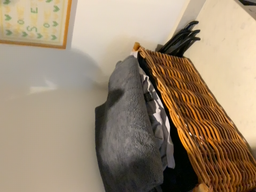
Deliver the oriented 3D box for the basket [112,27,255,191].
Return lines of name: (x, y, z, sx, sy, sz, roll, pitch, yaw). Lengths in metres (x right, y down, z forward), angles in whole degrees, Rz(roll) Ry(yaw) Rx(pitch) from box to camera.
basket: (0.160, 0.110, 0.840, 0.370, 0.250, 0.710, 115, 149, -46)
